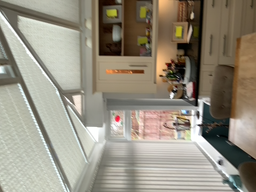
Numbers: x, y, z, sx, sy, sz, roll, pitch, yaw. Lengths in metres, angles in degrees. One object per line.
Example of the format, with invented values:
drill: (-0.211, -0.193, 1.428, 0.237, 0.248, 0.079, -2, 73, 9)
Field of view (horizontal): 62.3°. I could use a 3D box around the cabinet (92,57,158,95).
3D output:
cabinet: (-0.040, -0.270, 2.820, 0.340, 0.810, 0.460, -89, 0, -83)
